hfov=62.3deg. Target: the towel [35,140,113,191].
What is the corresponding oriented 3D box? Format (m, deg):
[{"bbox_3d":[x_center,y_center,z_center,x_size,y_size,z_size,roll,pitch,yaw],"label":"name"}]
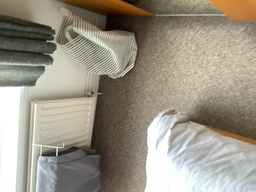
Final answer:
[{"bbox_3d":[-0.410,0.640,1.690,0.190,0.570,0.420,17,103,37],"label":"towel"}]
